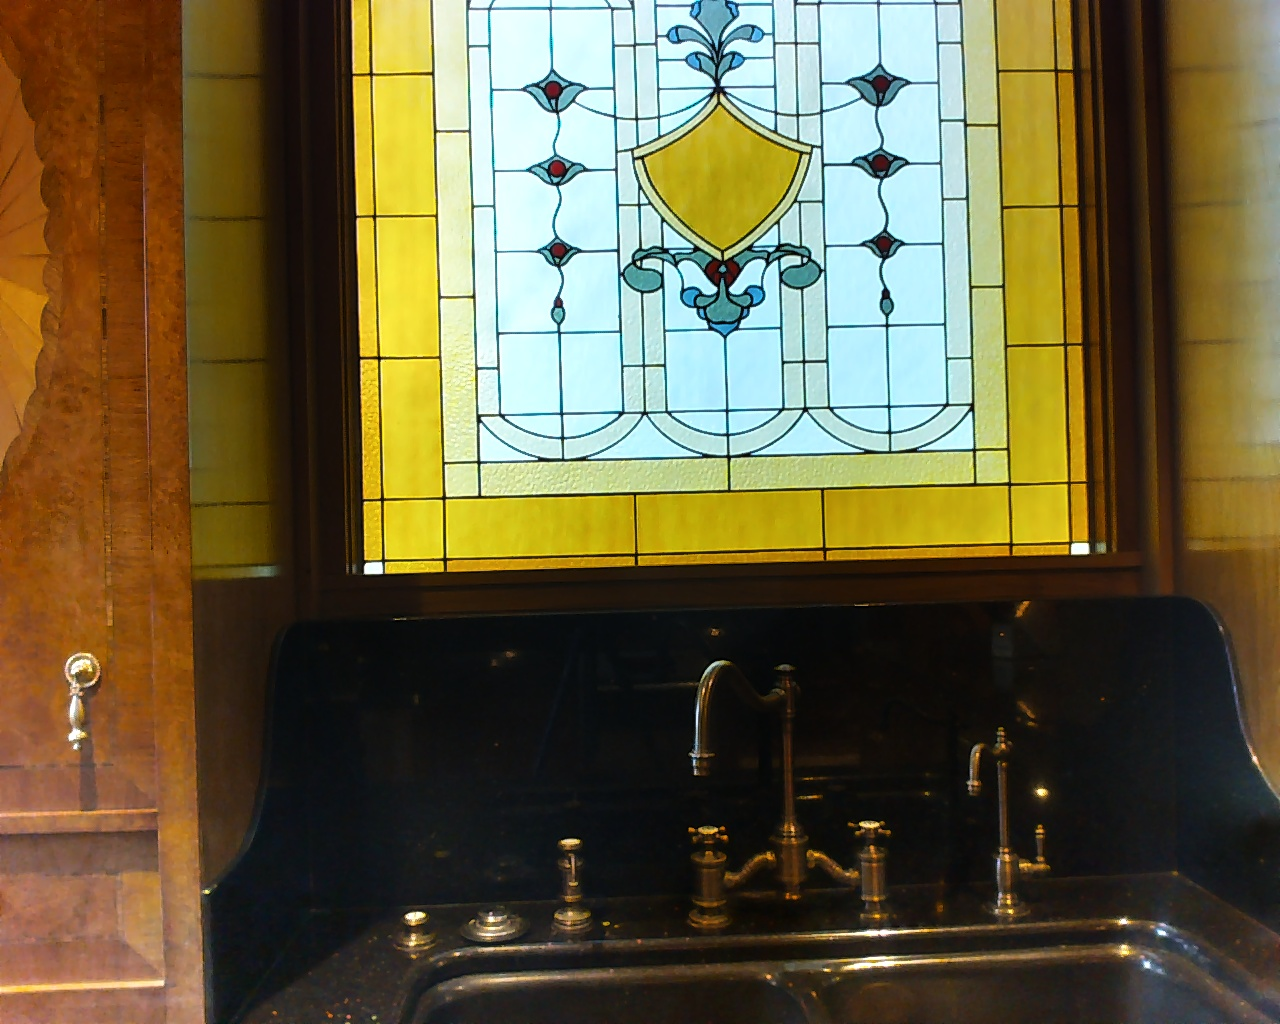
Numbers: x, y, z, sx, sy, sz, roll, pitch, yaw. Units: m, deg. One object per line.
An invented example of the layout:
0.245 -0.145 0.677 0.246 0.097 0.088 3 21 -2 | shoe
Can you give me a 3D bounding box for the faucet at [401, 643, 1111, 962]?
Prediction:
0.140 0.350 1.350 0.840 0.330 0.150 -1 -1 -3 | faucet
